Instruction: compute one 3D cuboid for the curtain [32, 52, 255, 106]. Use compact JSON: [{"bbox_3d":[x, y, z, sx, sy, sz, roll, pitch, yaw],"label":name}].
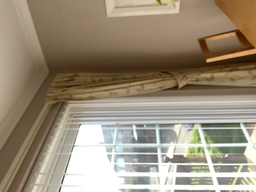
[{"bbox_3d":[0.280,-0.170,2.080,0.420,2.250,0.290,-86,-7,-52],"label":"curtain"}]
